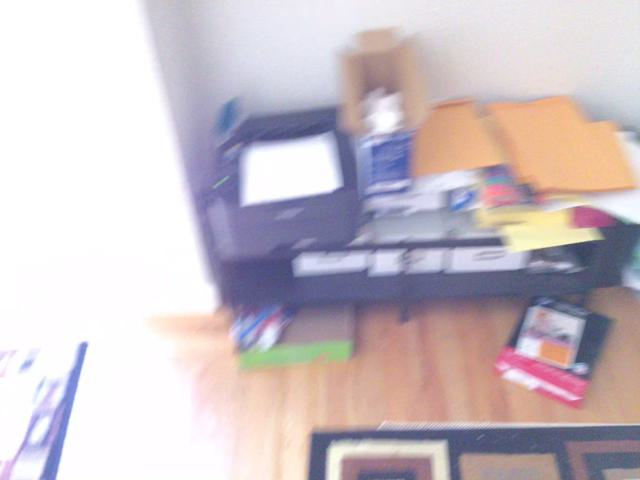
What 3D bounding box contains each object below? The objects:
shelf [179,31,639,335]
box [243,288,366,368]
[{"bbox_3d":[0.330,-0.130,1.560,1.190,0.650,0.450,-1,42,6],"label":"shelf"},{"bbox_3d":[-0.040,0.250,1.660,0.330,0.070,0.220,-3,42,4],"label":"box"}]
